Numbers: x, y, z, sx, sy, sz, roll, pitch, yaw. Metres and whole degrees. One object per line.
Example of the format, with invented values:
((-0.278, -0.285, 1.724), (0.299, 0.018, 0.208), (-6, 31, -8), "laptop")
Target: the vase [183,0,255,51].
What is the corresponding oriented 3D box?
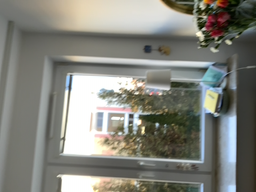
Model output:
((0.600, -0.400, 1.080), (0.380, 0.540, 0.210), (87, -174, -84), "vase")
